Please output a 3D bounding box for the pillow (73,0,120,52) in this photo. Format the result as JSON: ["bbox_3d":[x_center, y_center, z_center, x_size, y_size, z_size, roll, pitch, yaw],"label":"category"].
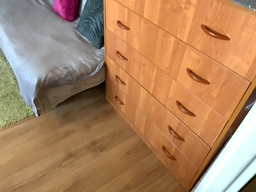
[{"bbox_3d":[-0.290,-0.700,1.780,0.110,0.400,0.490,-25,72,-28],"label":"pillow"}]
